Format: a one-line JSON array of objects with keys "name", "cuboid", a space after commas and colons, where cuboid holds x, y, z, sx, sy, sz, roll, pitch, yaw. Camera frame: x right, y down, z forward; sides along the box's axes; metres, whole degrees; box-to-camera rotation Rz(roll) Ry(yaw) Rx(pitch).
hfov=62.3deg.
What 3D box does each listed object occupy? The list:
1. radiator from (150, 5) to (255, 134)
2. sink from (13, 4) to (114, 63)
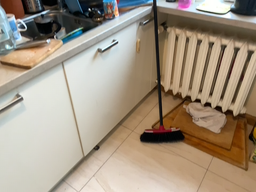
[{"name": "radiator", "cuboid": [0.600, -0.220, 1.660, 0.810, 0.750, 0.260, 26, 46, 30]}, {"name": "sink", "cuboid": [-0.370, -0.390, 1.250, 0.460, 0.140, 0.330, 23, 45, 27]}]
